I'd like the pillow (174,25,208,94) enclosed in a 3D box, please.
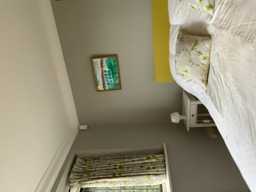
[{"bbox_3d":[0.600,-0.370,2.090,0.390,0.220,0.580,-82,-12,-67],"label":"pillow"}]
